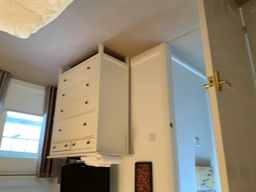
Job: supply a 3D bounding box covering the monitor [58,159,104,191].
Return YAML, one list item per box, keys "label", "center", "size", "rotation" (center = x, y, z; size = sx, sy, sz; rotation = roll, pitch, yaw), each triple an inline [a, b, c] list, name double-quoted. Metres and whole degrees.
- label: "monitor"
  center: [-0.600, 1.070, 2.640]
  size: [0.640, 0.530, 0.050]
  rotation: [-9, 160, 25]

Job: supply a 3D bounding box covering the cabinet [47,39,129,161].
- label: "cabinet"
  center: [-0.530, 0.140, 2.840]
  size: [0.510, 1.360, 1.030]
  rotation: [17, 155, -42]
